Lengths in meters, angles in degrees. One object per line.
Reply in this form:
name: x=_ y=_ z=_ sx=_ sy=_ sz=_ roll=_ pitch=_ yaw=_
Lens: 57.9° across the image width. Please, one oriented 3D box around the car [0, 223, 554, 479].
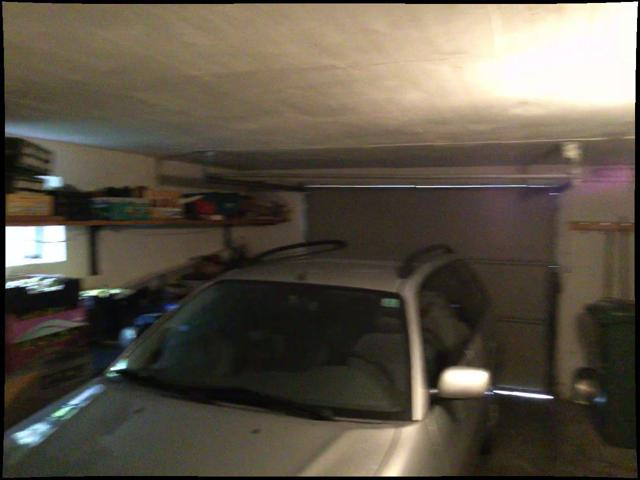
car: x=-0.040 y=0.801 z=2.960 sx=1.978 sy=1.632 sz=3.679 roll=5 pitch=4 yaw=25
